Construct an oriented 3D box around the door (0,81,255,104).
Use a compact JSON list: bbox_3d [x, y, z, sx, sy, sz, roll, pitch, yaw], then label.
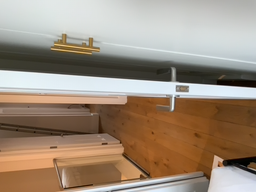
[{"bbox_3d":[-0.090,-0.020,1.080,0.840,1.950,0.040,-174,87,-65],"label":"door"}]
